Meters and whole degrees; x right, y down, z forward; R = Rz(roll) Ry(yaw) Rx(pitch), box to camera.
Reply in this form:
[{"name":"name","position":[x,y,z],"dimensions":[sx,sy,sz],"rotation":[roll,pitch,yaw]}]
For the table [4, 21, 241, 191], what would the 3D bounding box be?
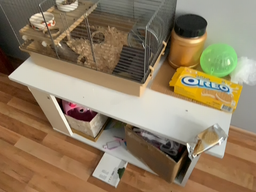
[{"name":"table","position":[-0.020,0.030,0.980],"dimensions":[0.830,0.430,0.380],"rotation":[18,54,16]}]
